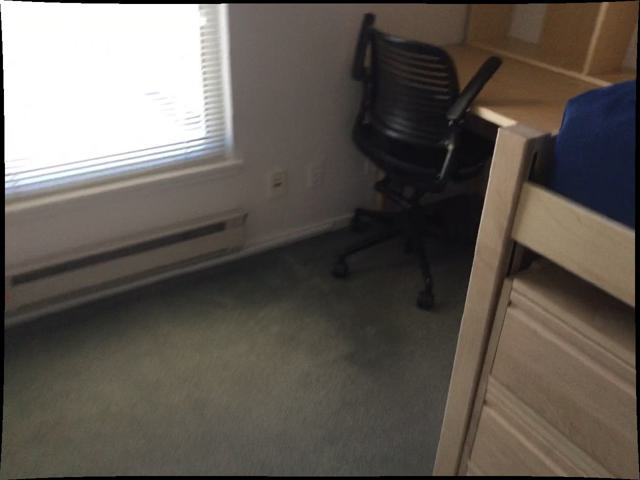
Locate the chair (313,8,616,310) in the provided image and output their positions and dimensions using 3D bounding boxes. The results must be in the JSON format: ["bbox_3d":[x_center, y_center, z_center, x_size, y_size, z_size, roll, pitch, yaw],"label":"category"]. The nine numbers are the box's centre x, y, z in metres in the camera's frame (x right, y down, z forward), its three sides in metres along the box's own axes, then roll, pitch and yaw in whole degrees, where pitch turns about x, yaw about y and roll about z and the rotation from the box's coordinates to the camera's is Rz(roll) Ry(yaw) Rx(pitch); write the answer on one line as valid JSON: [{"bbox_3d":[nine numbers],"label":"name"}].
[{"bbox_3d":[0.519,-0.381,2.330,0.829,0.911,0.650,-17,36,-30],"label":"chair"}]
